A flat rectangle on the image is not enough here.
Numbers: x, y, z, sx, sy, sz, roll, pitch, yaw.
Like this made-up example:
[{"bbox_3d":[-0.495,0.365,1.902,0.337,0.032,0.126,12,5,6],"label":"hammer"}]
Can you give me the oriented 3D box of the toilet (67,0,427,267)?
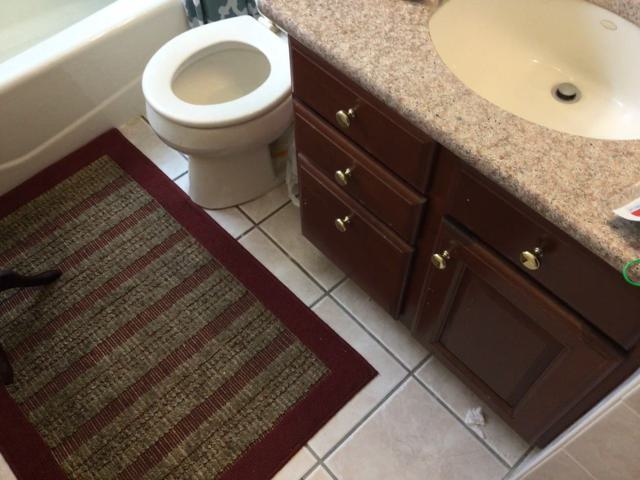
[{"bbox_3d":[-0.150,-0.480,1.470,0.680,0.780,0.480,-38,64,-22],"label":"toilet"}]
